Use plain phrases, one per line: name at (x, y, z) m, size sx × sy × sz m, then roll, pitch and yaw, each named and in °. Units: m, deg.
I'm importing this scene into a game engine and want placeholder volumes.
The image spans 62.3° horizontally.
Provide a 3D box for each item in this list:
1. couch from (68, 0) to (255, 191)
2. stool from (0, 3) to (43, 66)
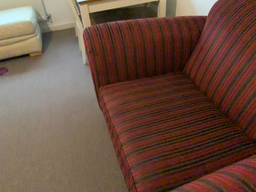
couch at (0.350, 0.060, 1.160) m, size 0.970 × 0.860 × 1.400 m, roll -16°, pitch 41°, yaw -12°
stool at (-1.490, -0.740, 2.570) m, size 0.750 × 0.460 × 0.640 m, roll -14°, pitch 40°, yaw -11°
